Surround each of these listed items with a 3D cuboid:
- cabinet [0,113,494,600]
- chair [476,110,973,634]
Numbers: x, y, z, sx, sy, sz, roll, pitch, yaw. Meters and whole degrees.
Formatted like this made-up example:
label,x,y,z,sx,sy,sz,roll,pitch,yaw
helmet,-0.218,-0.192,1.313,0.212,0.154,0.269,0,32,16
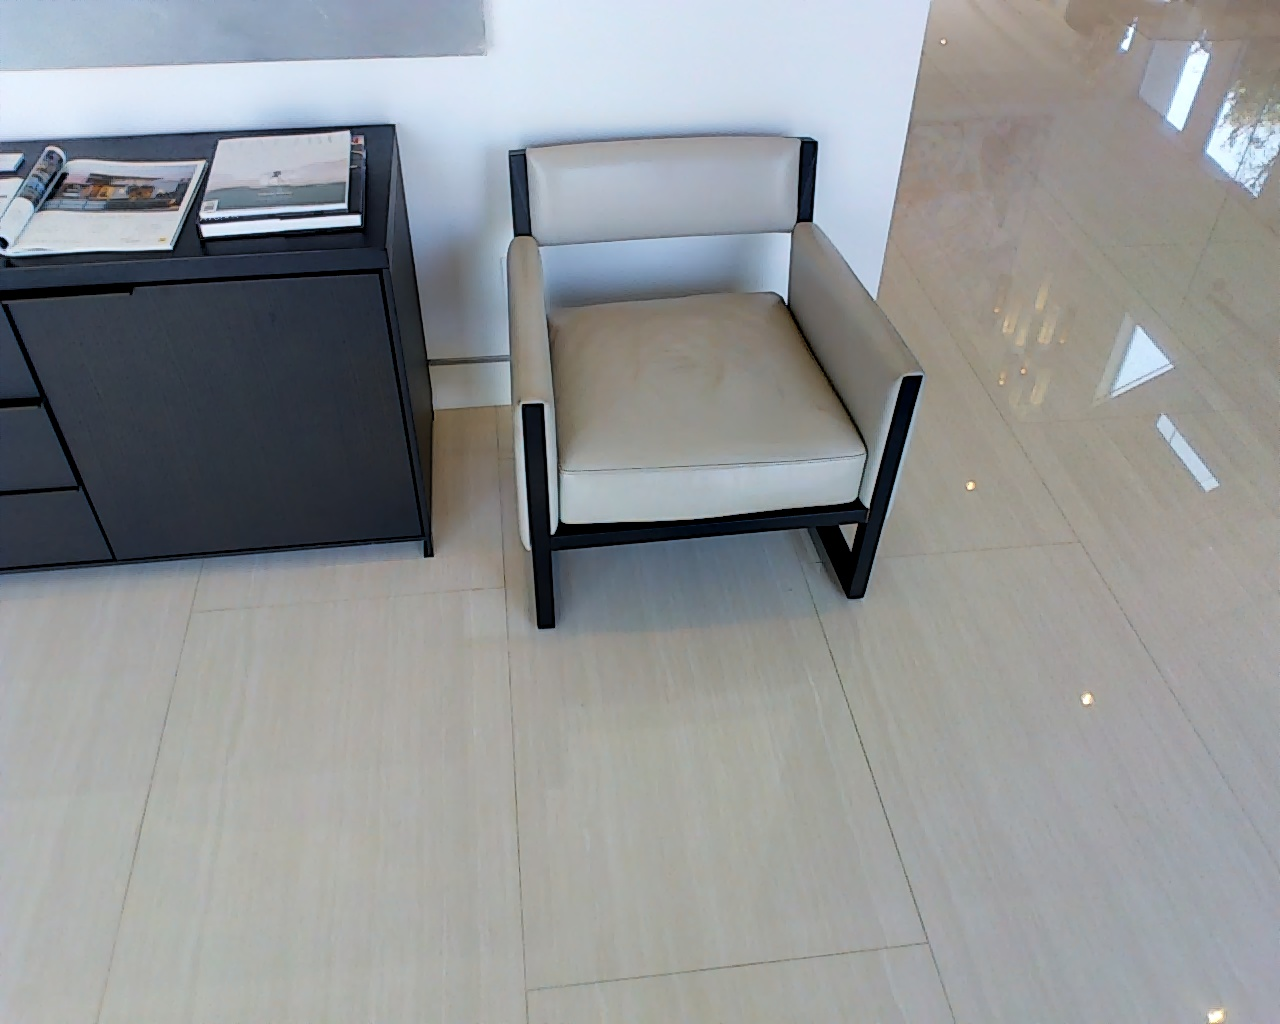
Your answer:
label,x,y,z,sx,sy,sz,roll,pitch,yaw
cabinet,-1.300,-0.270,2.070,1.960,0.720,0.530,-4,43,-6
chair,0.090,-0.300,2.150,0.760,0.680,0.760,-4,43,-6
